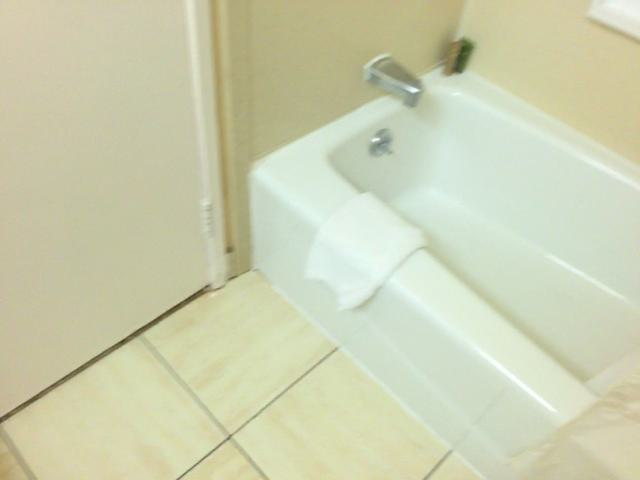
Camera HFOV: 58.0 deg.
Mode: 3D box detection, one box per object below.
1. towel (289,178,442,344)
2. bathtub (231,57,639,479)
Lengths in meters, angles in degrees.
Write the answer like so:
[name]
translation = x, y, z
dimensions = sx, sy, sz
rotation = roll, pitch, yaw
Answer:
[towel]
translation = 0.090, 0.040, 1.230
dimensions = 0.200, 0.190, 0.230
rotation = 38, 55, 26
[bathtub]
translation = 0.520, 0.150, 1.290
dimensions = 0.780, 0.350, 1.280
rotation = -34, 60, -31
